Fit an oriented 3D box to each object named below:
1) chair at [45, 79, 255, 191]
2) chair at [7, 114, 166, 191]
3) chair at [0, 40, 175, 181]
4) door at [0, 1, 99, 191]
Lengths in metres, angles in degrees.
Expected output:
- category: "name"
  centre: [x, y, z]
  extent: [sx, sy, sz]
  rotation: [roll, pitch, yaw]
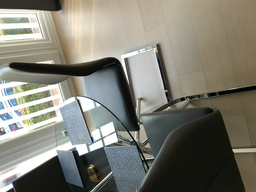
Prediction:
- category: "chair"
  centre: [0.260, 0.290, 1.020]
  extent: [0.550, 1.020, 0.440]
  rotation: [-15, 94, 48]
- category: "chair"
  centre: [-0.290, 0.570, 1.690]
  extent: [0.580, 1.000, 0.450]
  rotation: [-25, 86, 48]
- category: "chair"
  centre: [-0.210, 0.000, 1.390]
  extent: [0.440, 1.010, 0.540]
  rotation: [-7, 100, 47]
- category: "door"
  centre: [-1.490, 0.160, 2.090]
  extent: [0.120, 2.190, 2.200]
  rotation: [-11, 97, 47]
